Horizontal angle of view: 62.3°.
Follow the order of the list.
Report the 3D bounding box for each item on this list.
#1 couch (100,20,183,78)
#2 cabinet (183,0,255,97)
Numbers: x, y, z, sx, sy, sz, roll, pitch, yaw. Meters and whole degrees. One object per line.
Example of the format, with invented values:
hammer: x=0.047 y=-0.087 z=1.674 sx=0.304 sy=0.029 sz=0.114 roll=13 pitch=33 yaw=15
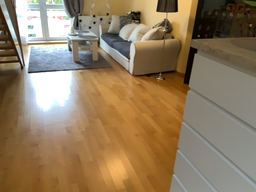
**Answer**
couch: x=0.120 y=-1.220 z=4.890 sx=0.970 sy=0.710 sz=2.360 roll=-7 pitch=28 yaw=-21
cabinet: x=1.600 y=-1.050 z=3.350 sx=1.060 sy=1.920 sz=0.460 roll=13 pitch=28 yaw=19
